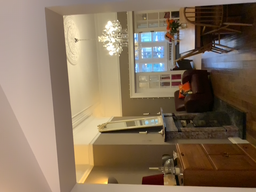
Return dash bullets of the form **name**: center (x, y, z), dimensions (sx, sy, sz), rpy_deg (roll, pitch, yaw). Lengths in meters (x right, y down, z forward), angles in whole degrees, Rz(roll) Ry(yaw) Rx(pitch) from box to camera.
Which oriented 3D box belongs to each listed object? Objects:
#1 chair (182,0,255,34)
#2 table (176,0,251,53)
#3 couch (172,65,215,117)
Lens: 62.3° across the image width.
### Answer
- **chair**: center (1.250, -1.180, 3.010), dimensions (0.560, 0.860, 0.460), rpy_deg (-59, -33, -77)
- **table**: center (1.390, -1.360, 3.880), dimensions (2.010, 0.770, 1.010), rpy_deg (-52, -39, -79)
- **couch**: center (1.610, -0.100, 5.420), dimensions (0.920, 0.810, 0.960), rpy_deg (80, -169, -55)
